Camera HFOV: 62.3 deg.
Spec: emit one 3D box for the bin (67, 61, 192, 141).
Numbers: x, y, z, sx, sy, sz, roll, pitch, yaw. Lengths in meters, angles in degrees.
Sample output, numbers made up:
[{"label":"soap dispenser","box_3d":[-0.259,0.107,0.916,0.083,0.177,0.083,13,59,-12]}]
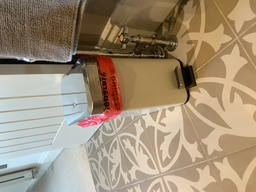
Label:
[{"label":"bin","box_3d":[-0.010,0.020,0.640,0.260,0.260,0.130,-38,63,52]}]
